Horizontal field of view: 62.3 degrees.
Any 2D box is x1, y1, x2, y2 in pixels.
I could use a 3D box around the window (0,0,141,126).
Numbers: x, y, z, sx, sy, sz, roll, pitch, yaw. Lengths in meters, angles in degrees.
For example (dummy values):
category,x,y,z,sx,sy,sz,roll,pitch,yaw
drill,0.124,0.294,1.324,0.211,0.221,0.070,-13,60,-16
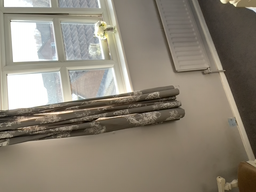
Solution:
category,x,y,z,sx,sy,sz,roll,pitch,yaw
window,-0.670,-0.620,2.030,0.290,1.230,1.640,130,131,-64
